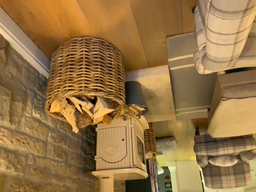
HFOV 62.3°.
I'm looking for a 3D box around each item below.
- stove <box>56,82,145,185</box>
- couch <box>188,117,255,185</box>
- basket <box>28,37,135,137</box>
[{"bbox_3d":[-0.230,0.440,2.210,0.630,0.840,0.700,-9,153,12],"label":"stove"},{"bbox_3d":[1.530,0.950,3.450,0.840,0.840,0.880,-12,152,18],"label":"couch"},{"bbox_3d":[-0.300,-0.020,1.670,0.560,0.480,0.610,-9,153,13],"label":"basket"}]
